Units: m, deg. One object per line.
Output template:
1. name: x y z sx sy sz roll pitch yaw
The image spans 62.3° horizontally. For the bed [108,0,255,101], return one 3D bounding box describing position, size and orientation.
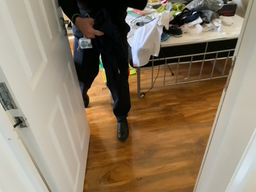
1. bed: 0.590 -0.930 2.920 1.450 0.610 2.050 -9 40 -8
